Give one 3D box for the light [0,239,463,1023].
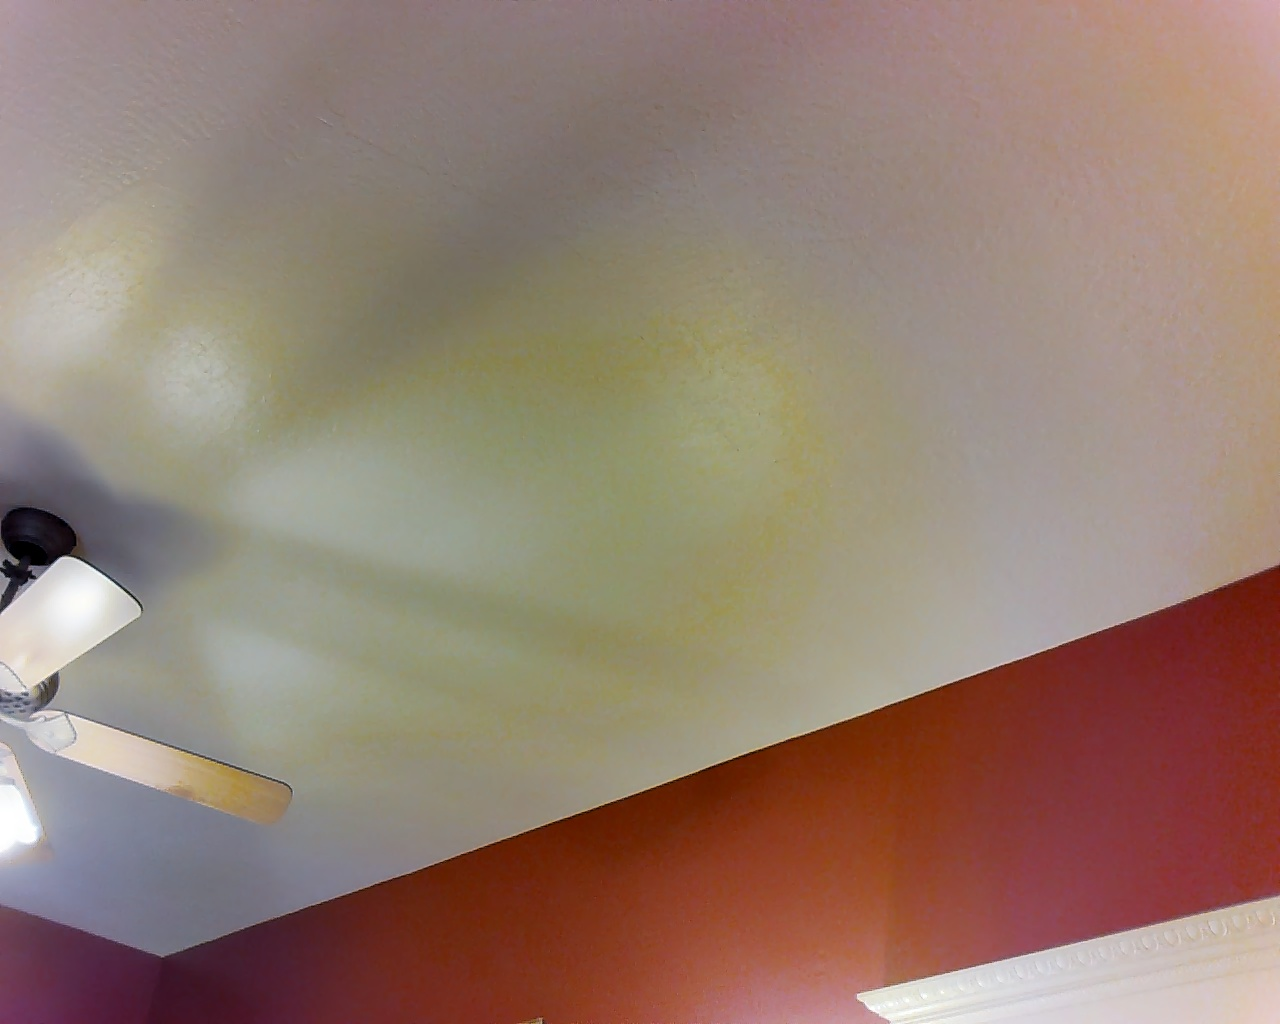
[{"bbox_3d":[-1.330,0.280,2.080,0.610,1.330,1.410,7,-26,49],"label":"light"}]
